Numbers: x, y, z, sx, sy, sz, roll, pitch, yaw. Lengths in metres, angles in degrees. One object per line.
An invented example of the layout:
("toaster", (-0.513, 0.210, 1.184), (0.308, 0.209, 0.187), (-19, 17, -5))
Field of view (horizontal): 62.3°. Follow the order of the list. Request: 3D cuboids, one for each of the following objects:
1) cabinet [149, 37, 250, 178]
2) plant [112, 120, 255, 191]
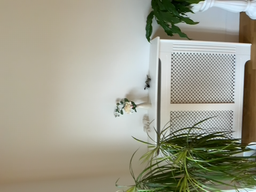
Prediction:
("cabinet", (0.660, 0.100, 1.990), (0.170, 0.900, 1.220), (-160, 70, -78))
("plant", (0.580, 0.530, 1.560), (0.650, 1.320, 0.560), (-168, 78, -78))
